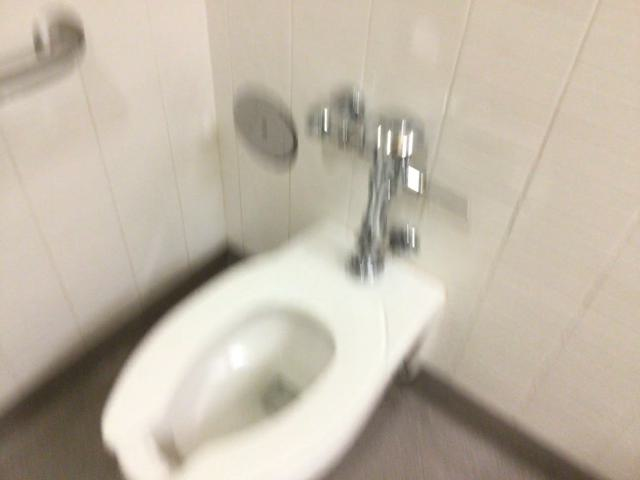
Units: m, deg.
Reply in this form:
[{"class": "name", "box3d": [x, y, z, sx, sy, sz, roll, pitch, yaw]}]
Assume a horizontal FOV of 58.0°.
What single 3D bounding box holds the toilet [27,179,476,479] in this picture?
[{"class": "toilet", "box3d": [-0.080, 0.260, 1.050, 0.390, 0.370, 0.620, 31, 51, 26]}]
